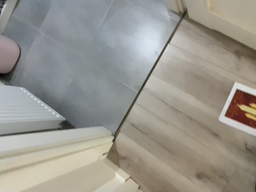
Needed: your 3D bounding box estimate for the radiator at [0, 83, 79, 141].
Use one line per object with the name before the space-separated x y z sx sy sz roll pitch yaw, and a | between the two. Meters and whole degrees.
radiator | -0.650 0.060 1.120 0.440 0.710 0.120 26 95 20
